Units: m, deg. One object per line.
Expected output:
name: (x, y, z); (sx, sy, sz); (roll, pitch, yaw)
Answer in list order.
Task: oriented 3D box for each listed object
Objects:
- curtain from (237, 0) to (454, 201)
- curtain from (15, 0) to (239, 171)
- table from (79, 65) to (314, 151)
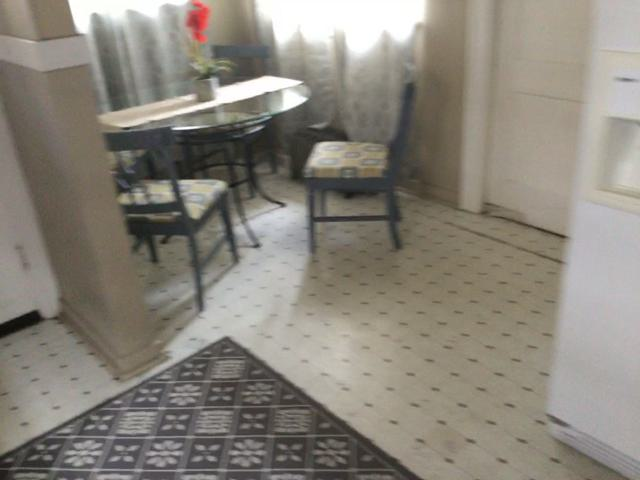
curtain: (0.070, -1.440, 3.350); (0.300, 2.140, 1.470); (-26, 34, -37)
curtain: (-1.140, -1.530, 3.370); (1.200, 1.980, 0.220); (-26, 34, -37)
table: (-0.610, -0.740, 3.090); (1.180, 0.150, 0.420); (-26, 34, -37)
